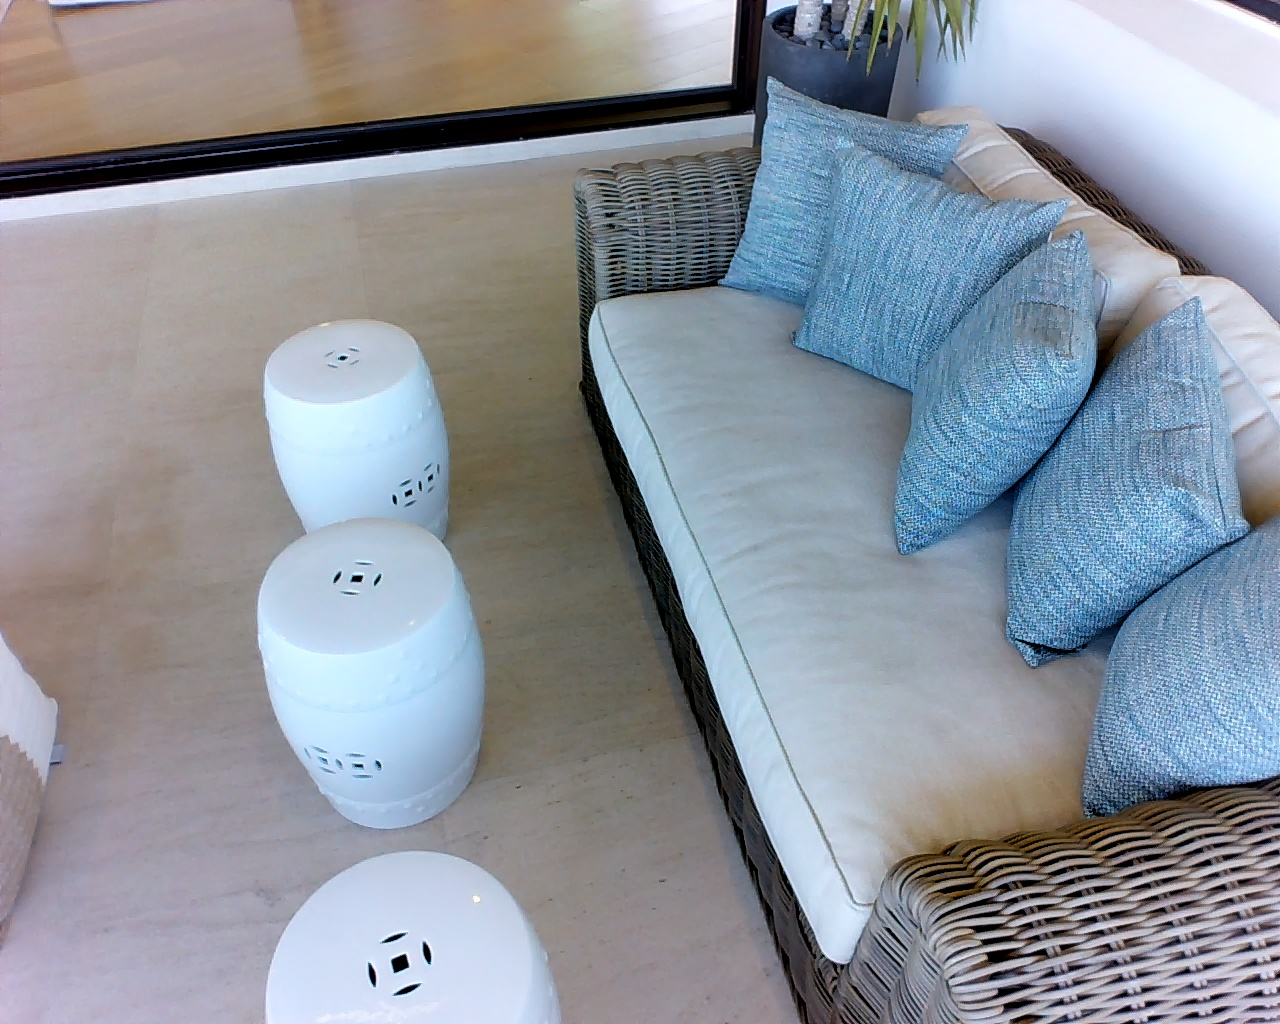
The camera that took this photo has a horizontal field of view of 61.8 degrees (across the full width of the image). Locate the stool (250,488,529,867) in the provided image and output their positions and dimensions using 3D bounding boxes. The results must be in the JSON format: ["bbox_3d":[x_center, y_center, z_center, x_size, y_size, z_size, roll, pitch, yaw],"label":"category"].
[{"bbox_3d":[-0.390,0.270,1.740,0.340,0.460,0.350,-8,43,-8],"label":"stool"}]

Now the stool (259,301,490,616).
[{"bbox_3d":[-0.530,-0.110,2.160,0.350,0.450,0.370,-11,43,-11],"label":"stool"}]
